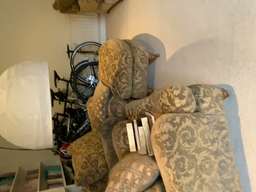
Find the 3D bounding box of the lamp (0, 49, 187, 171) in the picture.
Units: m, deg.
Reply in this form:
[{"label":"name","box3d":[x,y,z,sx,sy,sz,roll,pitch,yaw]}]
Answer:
[{"label":"lamp","box3d":[-0.380,0.000,1.840,0.730,1.500,0.700,-139,48,-60]}]

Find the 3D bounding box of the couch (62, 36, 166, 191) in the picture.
[{"label":"couch","box3d":[-0.250,0.230,2.460,0.960,0.810,1.710,-141,50,-61]}]

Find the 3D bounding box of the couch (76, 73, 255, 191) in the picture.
[{"label":"couch","box3d":[0.170,0.480,1.440,0.890,0.810,1.070,161,103,-68]}]
